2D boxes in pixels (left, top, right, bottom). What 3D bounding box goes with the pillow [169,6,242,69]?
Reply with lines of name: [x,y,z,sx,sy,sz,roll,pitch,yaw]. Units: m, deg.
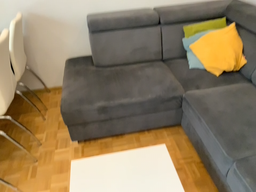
pillow: [0.750,-0.570,2.090,0.570,0.350,0.190,-26,19,9]

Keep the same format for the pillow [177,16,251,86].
pillow: [0.740,-0.390,1.870,0.420,0.410,0.150,-40,6,26]

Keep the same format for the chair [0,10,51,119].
chair: [-1.210,-0.280,2.070,0.600,0.920,0.410,-8,36,-6]
